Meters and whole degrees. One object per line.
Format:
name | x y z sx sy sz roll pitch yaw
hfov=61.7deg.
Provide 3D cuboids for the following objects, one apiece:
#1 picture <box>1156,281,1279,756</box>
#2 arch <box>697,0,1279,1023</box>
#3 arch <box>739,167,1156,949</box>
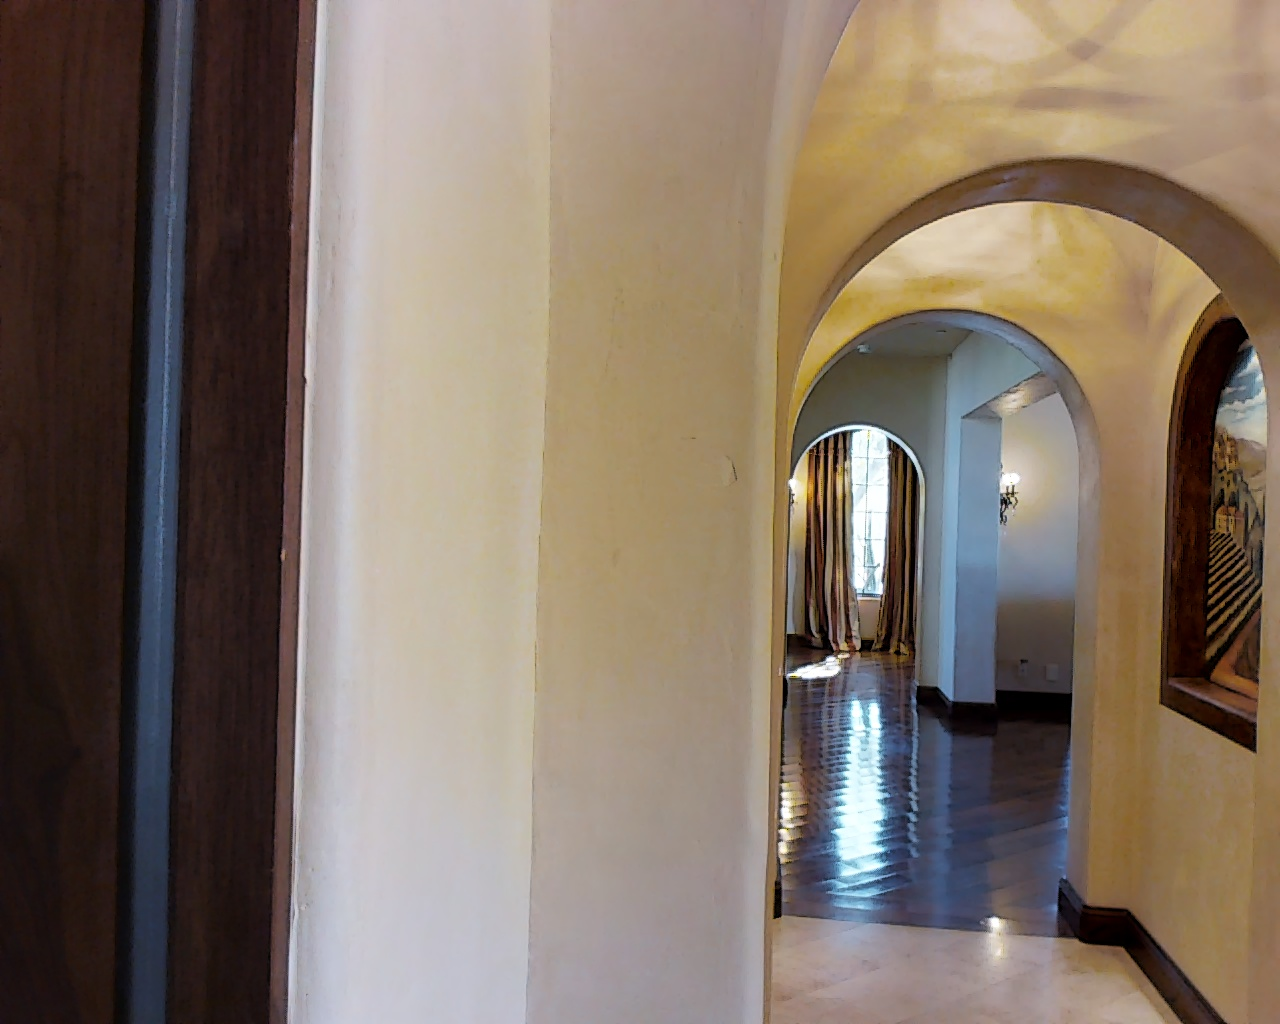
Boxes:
picture | 1.860 0.020 3.370 0.120 1.300 0.900 2 0 8
arch | 0.930 0.130 2.590 1.480 2.940 0.500 2 0 8
arch | 1.190 0.150 4.350 1.460 2.910 0.530 2 0 8
